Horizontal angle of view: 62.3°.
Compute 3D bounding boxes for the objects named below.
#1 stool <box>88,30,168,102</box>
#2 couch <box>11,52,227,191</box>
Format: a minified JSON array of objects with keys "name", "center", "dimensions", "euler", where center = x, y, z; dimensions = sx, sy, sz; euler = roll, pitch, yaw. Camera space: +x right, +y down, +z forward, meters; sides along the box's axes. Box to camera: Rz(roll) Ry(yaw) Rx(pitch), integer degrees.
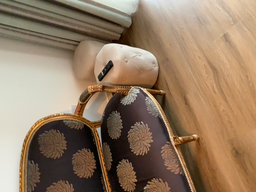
[{"name":"stool","center":[-0.010,-0.220,1.790],"dimensions":[0.380,0.450,0.410],"euler":[-38,61,41]},{"name":"couch","center":[-0.020,0.670,1.330],"dimensions":[0.800,1.010,1.530],"euler":[-38,61,41]}]
